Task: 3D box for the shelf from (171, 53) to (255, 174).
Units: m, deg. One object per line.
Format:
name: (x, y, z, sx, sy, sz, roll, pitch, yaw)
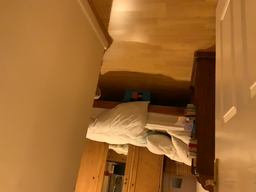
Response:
shelf: (0.480, 0.160, 1.300, 0.300, 0.560, 0.620, 7, 160, 5)
